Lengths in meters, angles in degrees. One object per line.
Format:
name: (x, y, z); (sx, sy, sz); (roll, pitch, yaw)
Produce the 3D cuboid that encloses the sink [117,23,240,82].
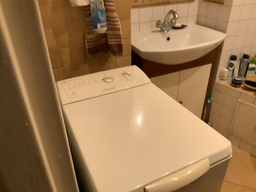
sink: (0.320, -0.330, 1.450); (0.670, 0.160, 0.440); (-14, 35, -20)
